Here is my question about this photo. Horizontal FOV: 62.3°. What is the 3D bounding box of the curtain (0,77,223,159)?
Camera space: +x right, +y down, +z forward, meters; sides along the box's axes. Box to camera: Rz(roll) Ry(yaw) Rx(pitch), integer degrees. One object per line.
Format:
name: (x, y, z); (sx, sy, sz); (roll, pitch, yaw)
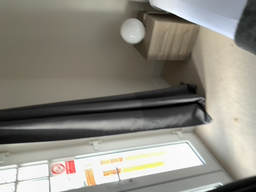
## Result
curtain: (-0.410, 0.130, 1.890); (0.610, 2.550, 0.300); (-121, 34, -52)

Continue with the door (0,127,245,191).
door: (-0.120, 0.650, 1.740); (0.760, 2.090, 0.090); (-120, 33, -50)
